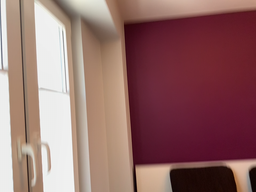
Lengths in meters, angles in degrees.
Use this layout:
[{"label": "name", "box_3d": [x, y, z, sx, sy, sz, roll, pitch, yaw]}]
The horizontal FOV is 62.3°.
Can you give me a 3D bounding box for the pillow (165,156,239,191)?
[{"label": "pillow", "box_3d": [0.630, 0.820, 1.860, 0.560, 0.480, 0.180, 5, -3, 2]}]
